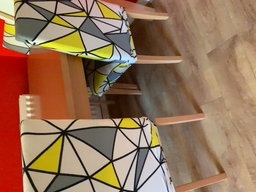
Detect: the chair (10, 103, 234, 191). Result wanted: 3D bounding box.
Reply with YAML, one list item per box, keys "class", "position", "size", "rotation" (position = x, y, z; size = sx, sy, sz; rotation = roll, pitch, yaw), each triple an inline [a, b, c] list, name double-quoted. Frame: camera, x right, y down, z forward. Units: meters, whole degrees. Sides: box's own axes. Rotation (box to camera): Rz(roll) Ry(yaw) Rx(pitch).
- class: "chair"
  position: [-0.040, 0.350, 1.070]
  size: [0.510, 0.930, 0.420]
  rotation: [-44, 55, 48]
